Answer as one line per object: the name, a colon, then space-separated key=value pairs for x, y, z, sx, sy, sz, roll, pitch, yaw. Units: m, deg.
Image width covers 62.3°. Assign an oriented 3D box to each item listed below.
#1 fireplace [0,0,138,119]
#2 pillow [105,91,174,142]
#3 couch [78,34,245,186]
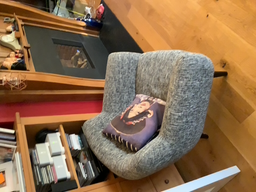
fireplace: x=-0.820 y=-0.470 z=2.420 sx=1.410 sy=1.350 sz=0.420 roll=60 pitch=135 yaw=34
pillow: x=0.050 y=0.120 z=1.450 sx=0.160 sy=0.360 sz=0.440 roll=-64 pitch=8 yaw=-3
couch: x=0.190 y=0.010 z=1.540 sx=0.790 sy=0.800 sz=0.730 roll=16 pitch=104 yaw=53
